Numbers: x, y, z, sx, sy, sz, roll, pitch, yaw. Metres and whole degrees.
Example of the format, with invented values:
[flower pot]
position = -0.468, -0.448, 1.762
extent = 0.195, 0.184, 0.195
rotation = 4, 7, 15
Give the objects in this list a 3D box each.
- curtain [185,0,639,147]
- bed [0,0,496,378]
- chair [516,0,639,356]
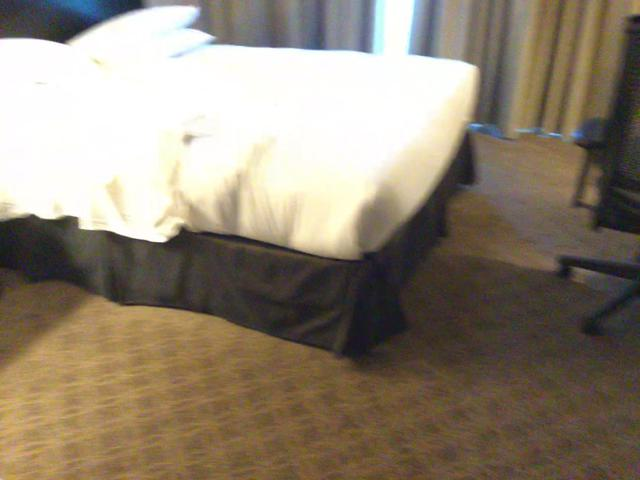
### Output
[curtain]
position = 0.480, -1.530, 3.450
extent = 2.820, 1.710, 0.360
rotation = 8, 31, 20
[bed]
position = -0.440, -0.470, 2.620
extent = 2.130, 0.950, 1.550
rotation = 8, 31, 21
[chair]
position = 1.140, -0.240, 1.850
extent = 0.670, 1.050, 0.650
rotation = 19, 36, 35
